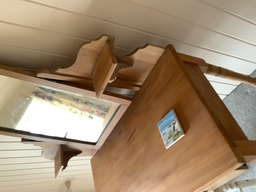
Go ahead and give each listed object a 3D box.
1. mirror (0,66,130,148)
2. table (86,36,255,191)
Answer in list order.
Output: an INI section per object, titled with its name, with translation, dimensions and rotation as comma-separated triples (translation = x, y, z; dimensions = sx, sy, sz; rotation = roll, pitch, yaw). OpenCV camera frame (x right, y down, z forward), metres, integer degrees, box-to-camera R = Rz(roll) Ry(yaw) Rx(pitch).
[mirror]
translation = -0.320, 0.090, 0.980
dimensions = 0.380, 0.550, 0.100
rotation = -50, 49, 32
[table]
translation = 0.310, 0.300, 1.120
dimensions = 0.930, 0.740, 0.510
rotation = -58, 39, 38
